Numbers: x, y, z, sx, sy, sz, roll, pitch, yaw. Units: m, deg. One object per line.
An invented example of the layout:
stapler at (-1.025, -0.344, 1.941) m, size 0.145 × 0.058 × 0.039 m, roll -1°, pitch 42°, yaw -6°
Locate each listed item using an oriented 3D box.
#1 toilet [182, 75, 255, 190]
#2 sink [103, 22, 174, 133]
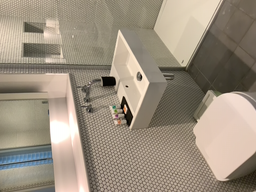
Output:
toilet at (0.720, 0.210, 1.280) m, size 0.540 × 0.460 × 0.390 m, roll 111°, pitch 146°, yaw -40°
sink at (0.020, -0.160, 1.530) m, size 0.710 × 0.160 × 0.430 m, roll -115°, pitch 32°, yaw -41°
